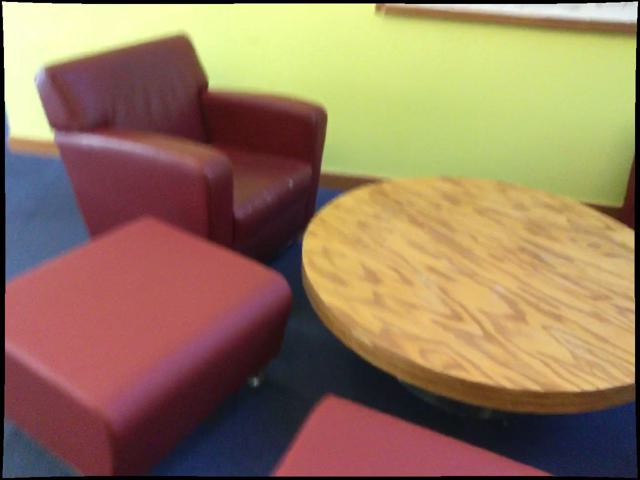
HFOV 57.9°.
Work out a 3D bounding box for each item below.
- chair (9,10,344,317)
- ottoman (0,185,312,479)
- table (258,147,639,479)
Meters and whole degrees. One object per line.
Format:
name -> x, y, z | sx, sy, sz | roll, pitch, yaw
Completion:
chair -> -0.509, -0.390, 2.410 | 0.889, 0.821, 0.860 | 19, 38, 25
ottoman -> -0.519, 0.280, 1.700 | 0.690, 0.460, 0.730 | 23, 40, 29
table -> 0.549, 0.180, 1.970 | 1.209, 0.420, 1.200 | 7, 34, 9
